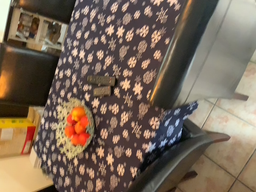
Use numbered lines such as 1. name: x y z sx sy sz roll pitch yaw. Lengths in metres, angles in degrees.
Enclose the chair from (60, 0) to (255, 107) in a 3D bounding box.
1. chair: 0.330 -0.270 1.070 0.530 1.090 0.430 37 111 38
